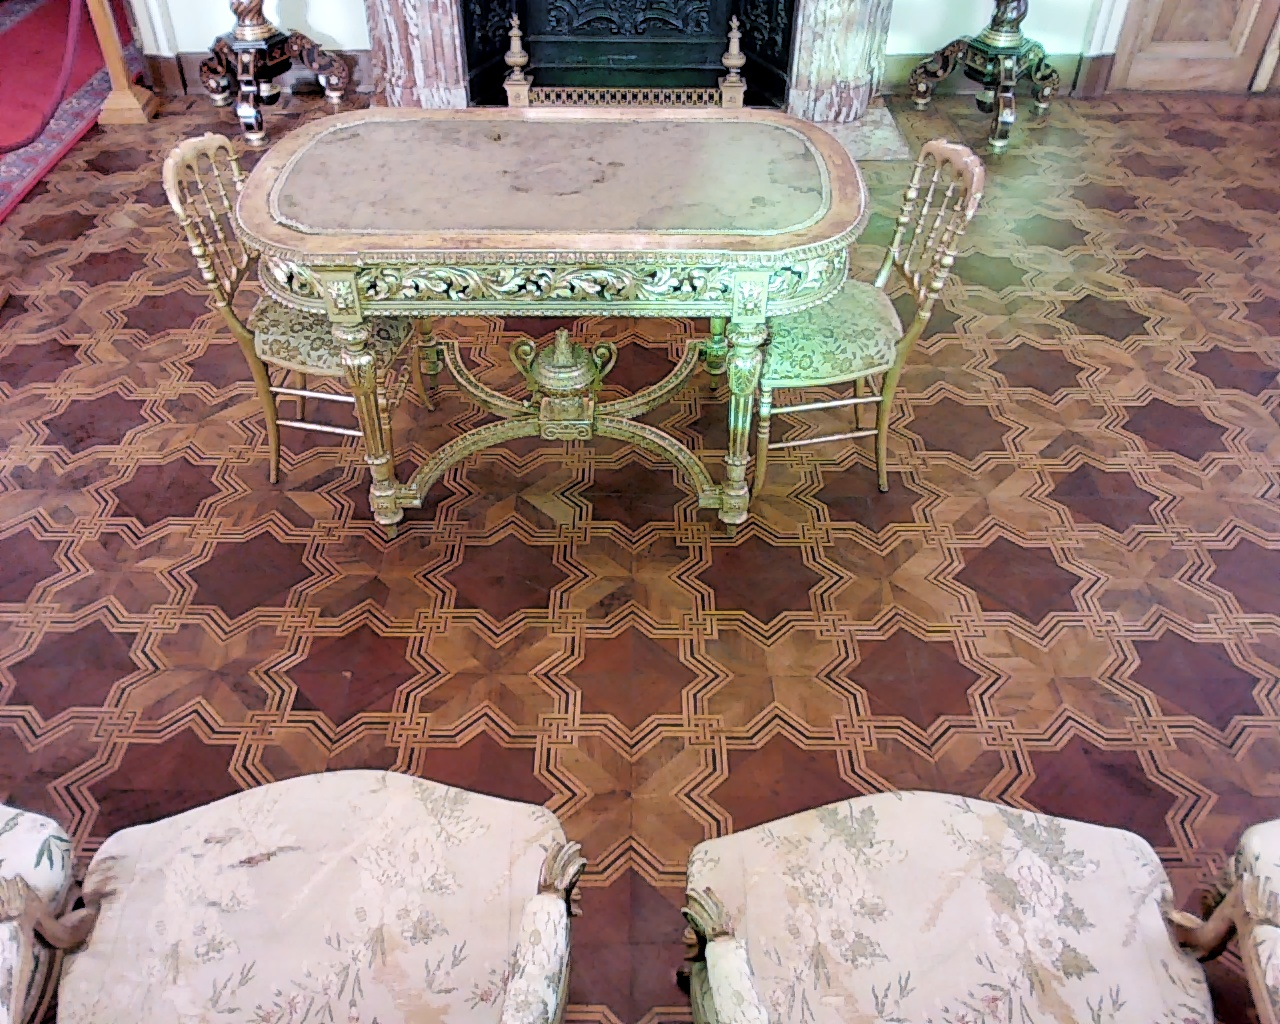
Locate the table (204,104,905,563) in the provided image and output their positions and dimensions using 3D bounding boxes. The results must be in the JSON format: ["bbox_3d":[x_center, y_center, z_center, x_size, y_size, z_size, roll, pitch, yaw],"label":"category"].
[{"bbox_3d":[-0.170,-0.460,2.720,1.400,0.830,0.810,1,41,0],"label":"table"}]

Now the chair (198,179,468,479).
[{"bbox_3d":[-0.750,-0.460,2.780,0.510,0.690,0.330,0,41,-1],"label":"chair"}]

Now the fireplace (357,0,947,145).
[{"bbox_3d":[0.050,-2.441,4.420,2.419,1.680,0.460,1,41,0],"label":"fireplace"}]
